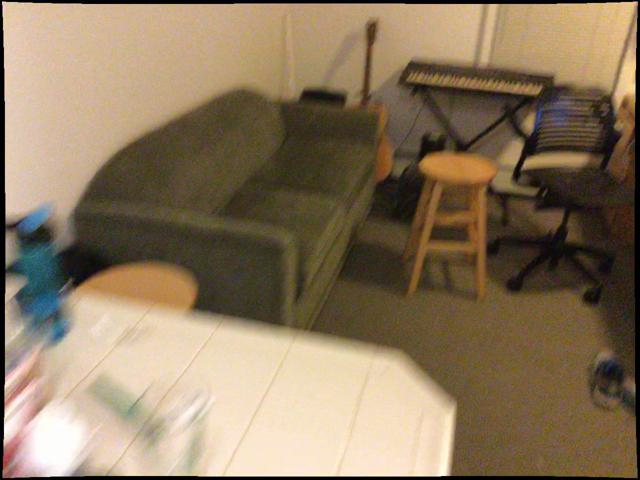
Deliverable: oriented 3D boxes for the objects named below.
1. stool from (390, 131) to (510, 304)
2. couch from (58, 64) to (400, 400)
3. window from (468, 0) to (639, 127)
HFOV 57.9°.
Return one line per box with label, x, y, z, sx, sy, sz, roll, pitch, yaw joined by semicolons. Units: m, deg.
stool;0.659;-0.140;2.890;0.450;0.590;0.630;10;29;13
couch;-0.220;-0.250;2.830;0.829;0.751;1.920;10;29;13
window;1.449;-1.612;3.230;0.919;1.821;0.280;10;29;13
